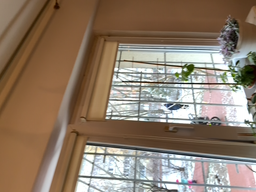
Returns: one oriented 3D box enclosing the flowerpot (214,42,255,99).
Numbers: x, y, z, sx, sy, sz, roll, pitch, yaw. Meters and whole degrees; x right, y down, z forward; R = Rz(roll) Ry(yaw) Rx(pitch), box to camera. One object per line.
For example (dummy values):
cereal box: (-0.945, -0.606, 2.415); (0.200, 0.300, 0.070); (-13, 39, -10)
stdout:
flowerpot: (0.690, -0.150, 1.250); (0.220, 0.250, 0.250); (89, -175, -49)
